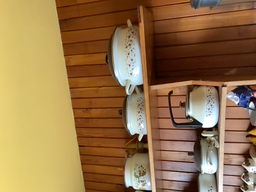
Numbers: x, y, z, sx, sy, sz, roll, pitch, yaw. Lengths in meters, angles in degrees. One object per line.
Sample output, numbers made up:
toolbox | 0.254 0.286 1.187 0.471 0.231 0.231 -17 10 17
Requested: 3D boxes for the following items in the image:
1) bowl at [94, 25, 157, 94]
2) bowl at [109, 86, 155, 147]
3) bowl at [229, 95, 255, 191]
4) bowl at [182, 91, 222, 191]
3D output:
bowl | 0.010 -0.160 0.900 0.280 0.180 0.240 -44 -48 -68
bowl | 0.030 0.080 0.970 0.230 0.140 0.200 -48 -45 -67
bowl | 0.560 0.360 0.940 0.170 0.170 0.710 -43 -50 -69
bowl | 0.330 0.360 0.970 0.220 0.140 0.730 -43 -50 -69
